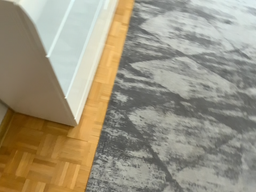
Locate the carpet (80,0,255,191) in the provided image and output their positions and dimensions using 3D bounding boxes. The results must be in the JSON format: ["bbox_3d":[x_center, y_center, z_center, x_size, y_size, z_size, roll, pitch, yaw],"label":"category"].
[{"bbox_3d":[0.700,-0.030,1.370,1.500,0.070,2.130,16,66,0],"label":"carpet"}]
